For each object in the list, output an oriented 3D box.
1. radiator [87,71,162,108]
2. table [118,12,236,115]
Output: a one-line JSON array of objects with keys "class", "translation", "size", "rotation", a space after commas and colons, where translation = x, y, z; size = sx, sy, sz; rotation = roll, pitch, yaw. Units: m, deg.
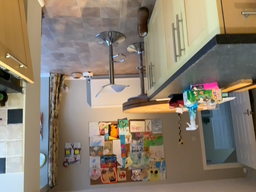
[{"class": "radiator", "translation": [-0.080, -0.130, 4.350], "size": [1.480, 0.680, 0.170], "rotation": [-3, 171, 0]}, {"class": "table", "translation": [0.470, -0.300, 2.690], "size": [1.130, 0.960, 1.090], "rotation": [-3, 171, -1]}]
